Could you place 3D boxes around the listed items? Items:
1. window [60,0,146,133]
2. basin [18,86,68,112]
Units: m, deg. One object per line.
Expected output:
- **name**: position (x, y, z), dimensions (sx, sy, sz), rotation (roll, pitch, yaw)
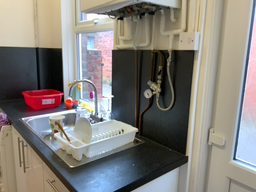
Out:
- **window**: position (-0.300, -0.520, 2.060), dimensions (0.300, 1.470, 1.000), rotation (-8, 15, -39)
- **basin**: position (-0.880, 0.020, 2.200), dimensions (0.380, 0.160, 0.360), rotation (-8, 16, -40)
